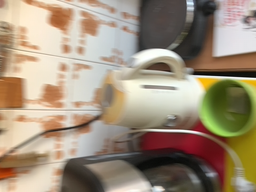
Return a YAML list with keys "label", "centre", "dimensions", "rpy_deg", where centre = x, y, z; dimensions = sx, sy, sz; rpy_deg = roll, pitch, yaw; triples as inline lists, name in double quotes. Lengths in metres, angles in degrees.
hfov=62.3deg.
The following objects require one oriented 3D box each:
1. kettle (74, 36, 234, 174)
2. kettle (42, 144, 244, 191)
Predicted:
- label: "kettle"
  centre: [0.040, 0.050, 0.580]
  dimensions: [0.320, 0.240, 0.210]
  rpy_deg: [-42, 55, 44]
- label: "kettle"
  centre: [0.010, 0.260, 0.520]
  dimensions: [0.380, 0.340, 0.150]
  rpy_deg: [-39, 57, 45]
